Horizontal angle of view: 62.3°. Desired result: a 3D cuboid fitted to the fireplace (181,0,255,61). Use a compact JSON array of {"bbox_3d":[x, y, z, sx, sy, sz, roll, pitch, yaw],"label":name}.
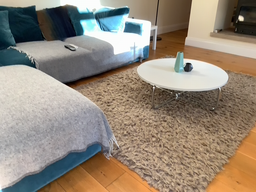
[{"bbox_3d":[2.300,-1.630,3.890,1.070,1.620,2.130,-23,36,-39],"label":"fireplace"}]
